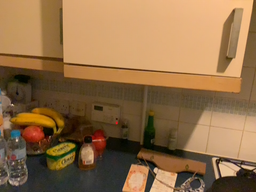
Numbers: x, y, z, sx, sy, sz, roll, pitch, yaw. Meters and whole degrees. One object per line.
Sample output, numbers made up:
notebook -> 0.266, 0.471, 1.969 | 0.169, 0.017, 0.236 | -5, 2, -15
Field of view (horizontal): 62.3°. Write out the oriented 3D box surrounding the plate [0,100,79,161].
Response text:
plate -> -0.420, 0.150, 1.040 | 0.240, 0.170, 0.280 | 7, 14, 16
